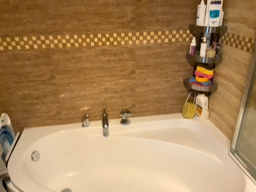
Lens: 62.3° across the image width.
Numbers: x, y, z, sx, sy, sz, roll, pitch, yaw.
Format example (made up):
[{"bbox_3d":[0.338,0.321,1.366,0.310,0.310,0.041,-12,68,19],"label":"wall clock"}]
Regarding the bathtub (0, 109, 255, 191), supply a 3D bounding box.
[{"bbox_3d":[-0.030,0.660,1.440,1.510,0.580,1.060,-5,25,-9],"label":"bathtub"}]
